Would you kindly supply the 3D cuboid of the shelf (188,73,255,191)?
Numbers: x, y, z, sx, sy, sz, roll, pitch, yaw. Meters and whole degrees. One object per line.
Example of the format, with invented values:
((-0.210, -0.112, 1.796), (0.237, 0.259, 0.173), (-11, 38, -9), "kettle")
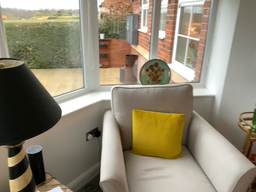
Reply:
((1.120, 0.420, 1.680), (1.000, 0.950, 0.500), (18, 26, 36), "shelf")
